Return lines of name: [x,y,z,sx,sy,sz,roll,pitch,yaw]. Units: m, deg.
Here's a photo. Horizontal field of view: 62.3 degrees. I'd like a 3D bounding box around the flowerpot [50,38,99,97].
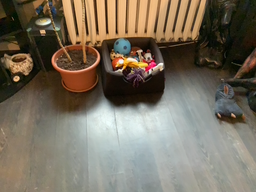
flowerpot: [-0.400,-0.230,1.630,0.300,0.230,0.390,-6,48,-8]
